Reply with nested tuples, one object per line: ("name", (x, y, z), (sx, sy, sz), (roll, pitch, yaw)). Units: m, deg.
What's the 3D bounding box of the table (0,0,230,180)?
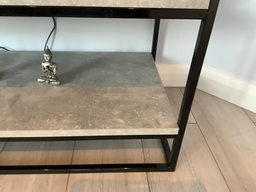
("table", (-0.380, -0.090, 0.550), (1.010, 0.410, 0.420), (0, 35, -5))
